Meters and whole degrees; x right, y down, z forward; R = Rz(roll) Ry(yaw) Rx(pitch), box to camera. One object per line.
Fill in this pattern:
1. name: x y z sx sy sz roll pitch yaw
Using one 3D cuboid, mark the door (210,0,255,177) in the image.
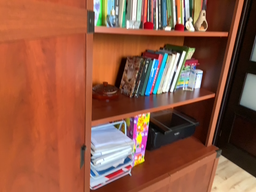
1. door: 1.310 -0.180 2.020 0.090 2.010 0.700 -9 24 -33
